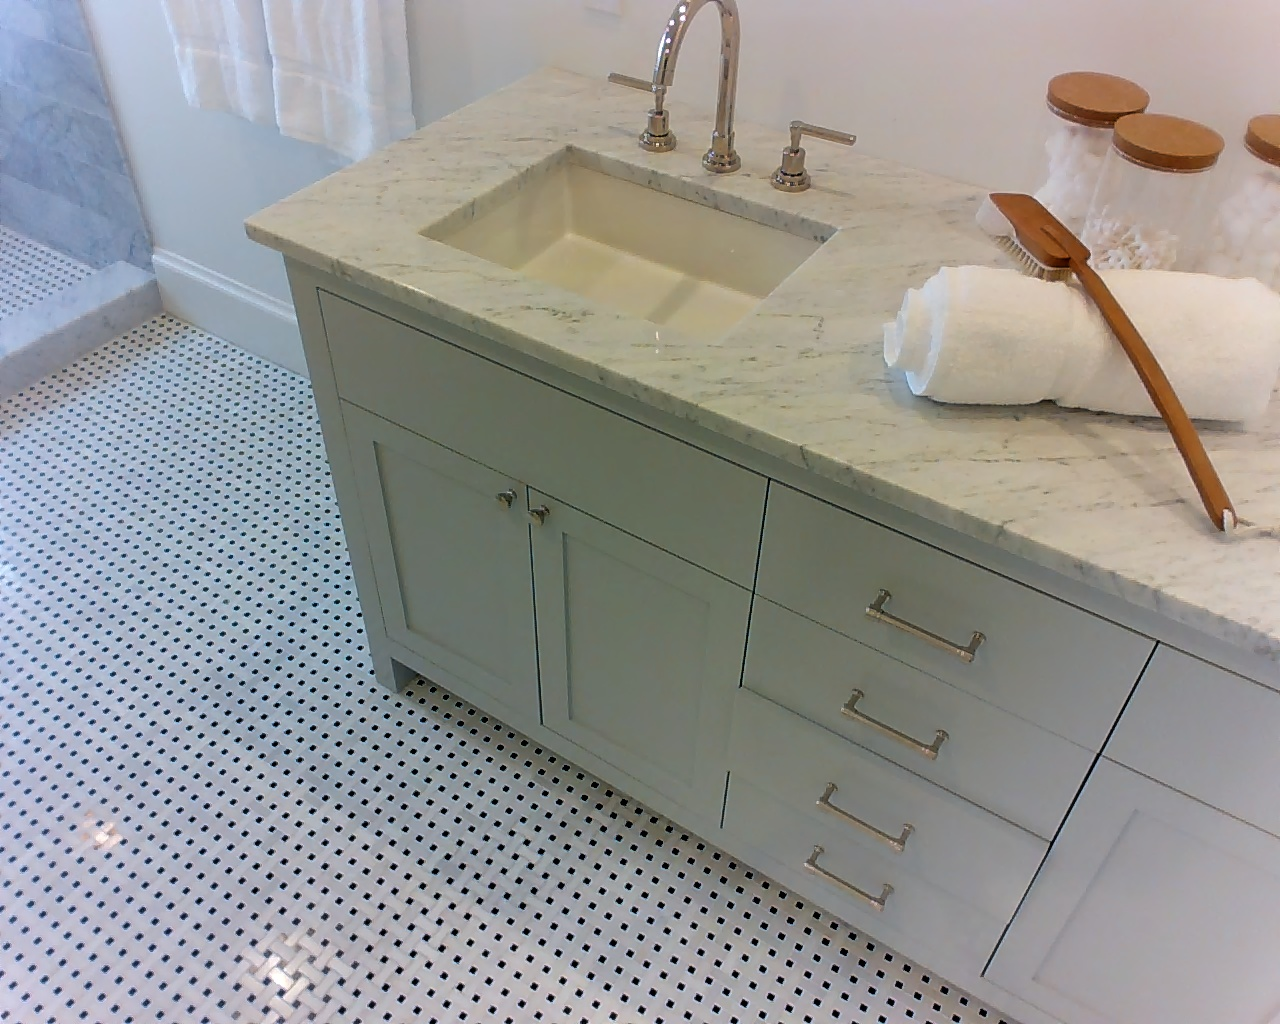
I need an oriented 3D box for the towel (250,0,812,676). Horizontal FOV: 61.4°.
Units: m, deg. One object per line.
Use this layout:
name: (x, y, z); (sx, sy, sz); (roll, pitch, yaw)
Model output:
towel: (-0.050, -0.320, 1.310); (0.140, 0.760, 0.760); (25, 47, 23)
